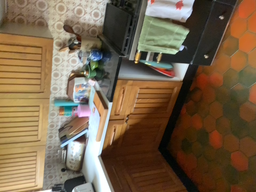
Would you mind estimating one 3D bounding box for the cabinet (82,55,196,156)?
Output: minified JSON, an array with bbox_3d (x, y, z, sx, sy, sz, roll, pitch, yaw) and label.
[{"bbox_3d":[0.060,0.080,2.270,0.580,0.890,0.800,52,135,50],"label":"cabinet"}]
